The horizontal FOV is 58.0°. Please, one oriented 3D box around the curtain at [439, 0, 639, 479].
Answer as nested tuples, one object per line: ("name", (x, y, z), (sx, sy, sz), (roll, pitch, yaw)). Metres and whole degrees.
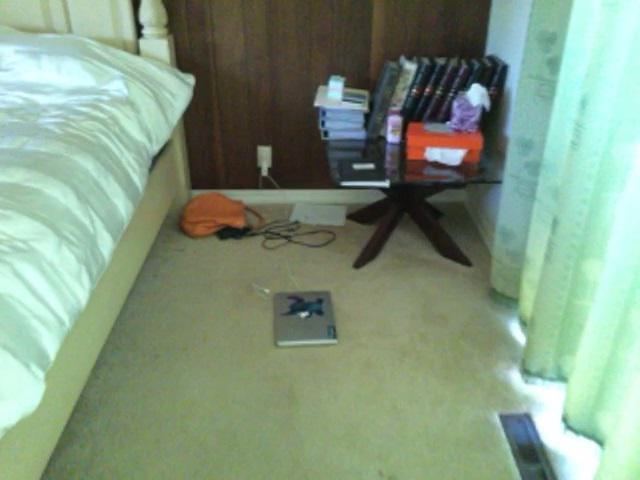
("curtain", (0.660, 0.270, 0.800), (0.270, 1.380, 2.720), (0, 28, -2))
